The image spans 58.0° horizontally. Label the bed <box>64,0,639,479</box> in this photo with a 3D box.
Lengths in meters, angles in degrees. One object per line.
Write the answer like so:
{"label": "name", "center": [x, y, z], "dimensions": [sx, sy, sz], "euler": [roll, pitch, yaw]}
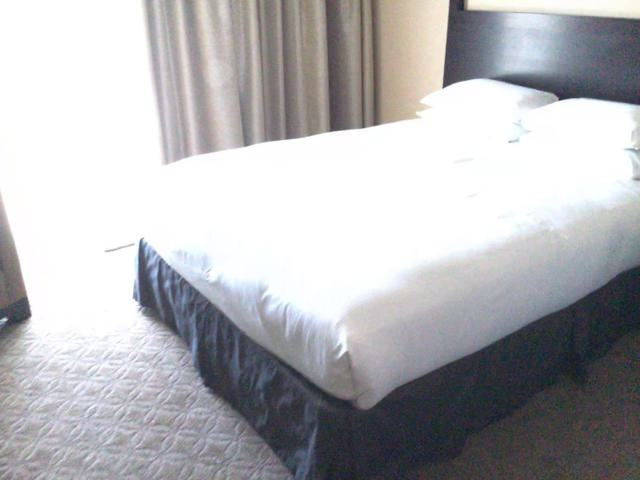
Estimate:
{"label": "bed", "center": [0.370, -0.380, 2.400], "dimensions": [2.110, 1.550, 1.810], "euler": [-16, 26, -31]}

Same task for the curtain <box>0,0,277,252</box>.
{"label": "curtain", "center": [-1.010, -0.850, 3.290], "dimensions": [1.410, 1.520, 0.390], "euler": [-13, 25, -26]}

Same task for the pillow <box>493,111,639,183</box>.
{"label": "pillow", "center": [1.190, -0.420, 2.480], "dimensions": [0.480, 0.120, 0.710], "euler": [-16, 26, -31]}

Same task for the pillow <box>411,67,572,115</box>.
{"label": "pillow", "center": [0.840, -0.760, 2.890], "dimensions": [0.480, 0.130, 0.590], "euler": [-16, 26, -31]}

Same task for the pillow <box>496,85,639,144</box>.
{"label": "pillow", "center": [1.180, -0.560, 2.500], "dimensions": [0.470, 0.110, 0.640], "euler": [-16, 26, -31]}

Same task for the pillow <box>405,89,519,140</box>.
{"label": "pillow", "center": [0.680, -0.630, 2.850], "dimensions": [0.180, 0.150, 0.570], "euler": [-16, 26, -31]}
